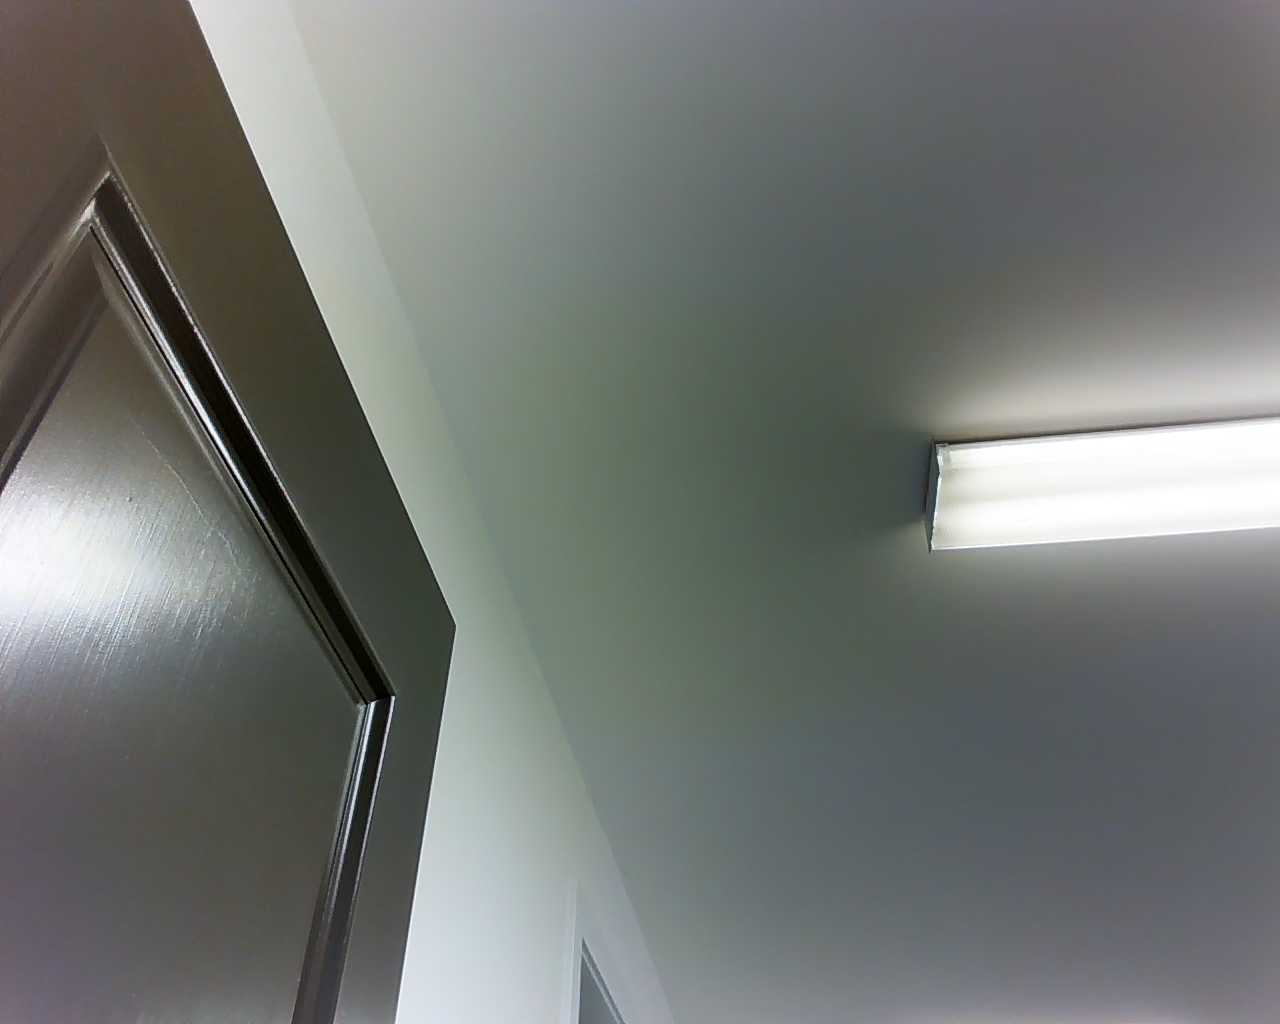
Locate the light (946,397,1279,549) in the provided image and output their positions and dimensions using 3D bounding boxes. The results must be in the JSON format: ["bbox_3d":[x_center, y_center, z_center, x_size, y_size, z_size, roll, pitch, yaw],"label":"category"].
[{"bbox_3d":[1.130,-0.090,1.700,1.240,0.070,0.220,-5,-42,7],"label":"light"}]
